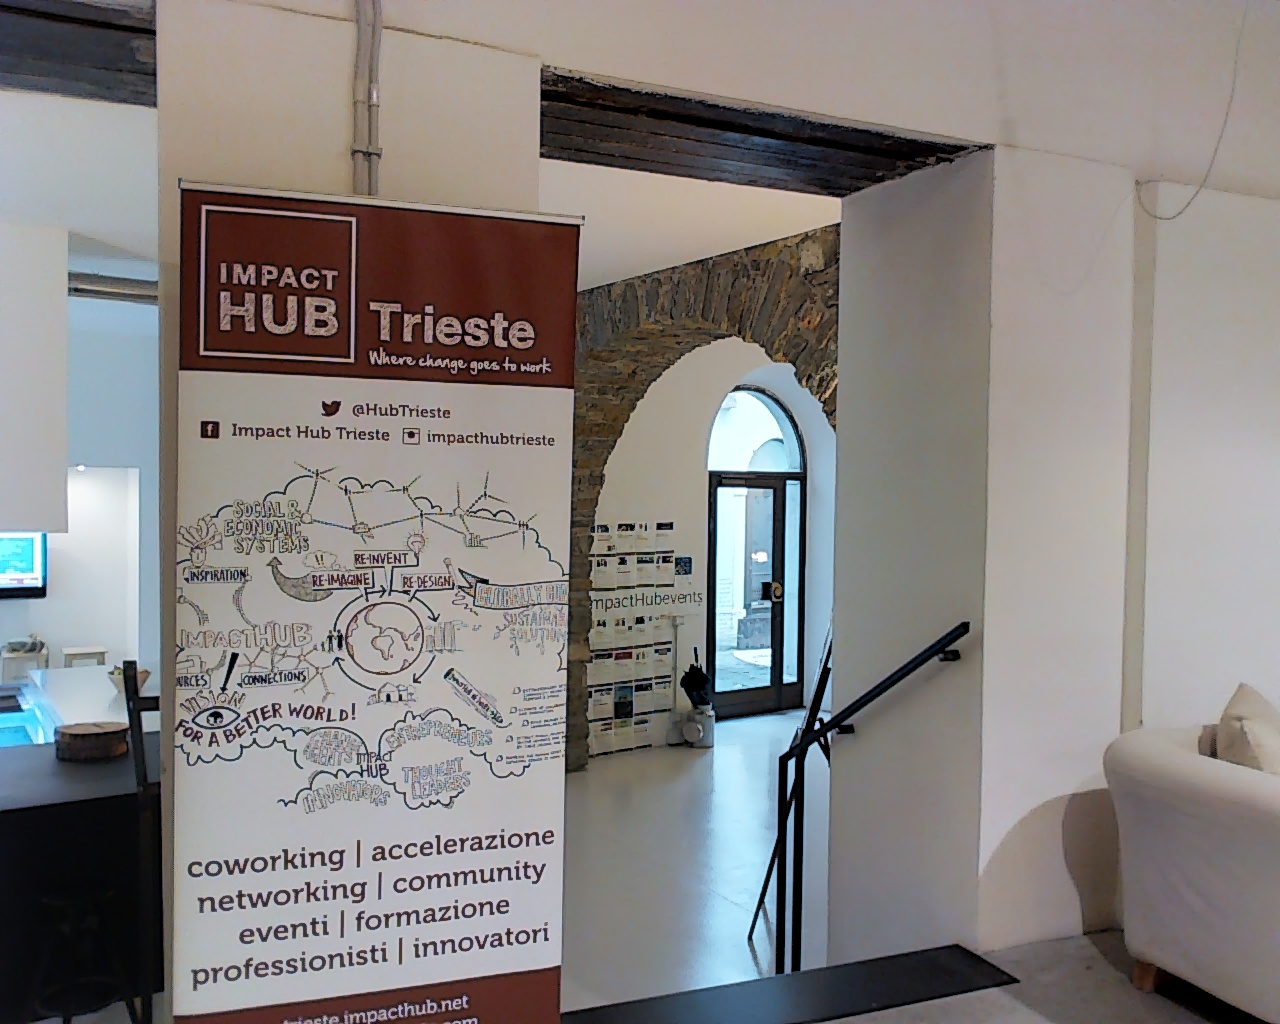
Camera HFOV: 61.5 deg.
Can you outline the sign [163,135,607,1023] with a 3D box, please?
[{"bbox_3d":[-0.560,0.300,2.420,0.920,2.101,0.200,0,2,-20],"label":"sign"}]
